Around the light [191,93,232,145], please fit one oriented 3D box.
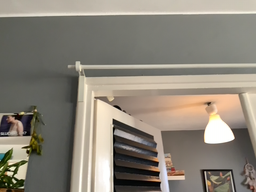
[{"bbox_3d":[0.910,0.270,2.290,0.310,0.420,0.410,-12,-27,21],"label":"light"}]
